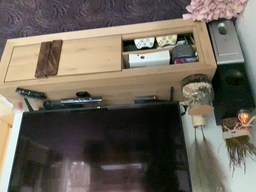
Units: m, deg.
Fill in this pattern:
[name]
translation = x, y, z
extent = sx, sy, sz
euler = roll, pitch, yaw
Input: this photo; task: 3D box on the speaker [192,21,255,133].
[speaker]
translation = 0.670, -0.130, 1.460
extent = 0.300, 0.690, 0.300
euler = -5, 153, 6
